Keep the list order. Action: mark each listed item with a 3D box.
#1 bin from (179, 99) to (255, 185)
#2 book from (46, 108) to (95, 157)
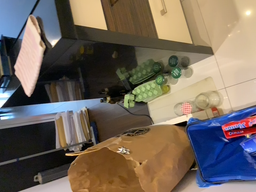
[{"bbox_3d":[0.540,0.170,0.940,0.380,0.420,0.290,-23,77,46],"label":"bin"},{"bbox_3d":[-0.610,0.380,2.240,0.300,0.340,0.430,-18,80,46],"label":"book"}]
